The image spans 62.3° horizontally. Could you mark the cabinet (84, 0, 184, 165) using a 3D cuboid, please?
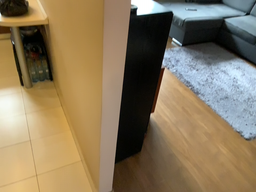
[{"bbox_3d":[-0.070,-0.170,1.540,0.270,1.130,0.740,-12,42,-23],"label":"cabinet"}]
